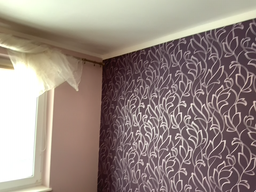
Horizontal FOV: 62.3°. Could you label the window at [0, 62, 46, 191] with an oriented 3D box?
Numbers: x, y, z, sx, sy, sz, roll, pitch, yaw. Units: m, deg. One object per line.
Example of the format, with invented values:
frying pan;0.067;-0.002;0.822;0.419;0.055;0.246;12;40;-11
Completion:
window;-1.310;0.350;2.300;0.170;1.390;0.700;-5;-9;44
